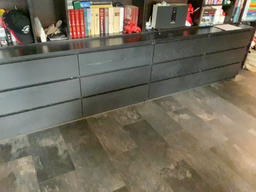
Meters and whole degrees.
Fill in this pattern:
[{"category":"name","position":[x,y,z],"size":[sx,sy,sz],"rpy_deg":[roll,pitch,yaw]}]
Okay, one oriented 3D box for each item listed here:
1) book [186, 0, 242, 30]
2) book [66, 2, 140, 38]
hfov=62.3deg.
[{"category":"book","position":[1.120,-1.090,2.790],"size":[0.630,0.330,0.260],"rpy_deg":[-13,35,-25]},{"category":"book","position":[-0.240,-0.780,2.140],"size":[0.680,0.270,0.230],"rpy_deg":[-13,35,-25]}]
